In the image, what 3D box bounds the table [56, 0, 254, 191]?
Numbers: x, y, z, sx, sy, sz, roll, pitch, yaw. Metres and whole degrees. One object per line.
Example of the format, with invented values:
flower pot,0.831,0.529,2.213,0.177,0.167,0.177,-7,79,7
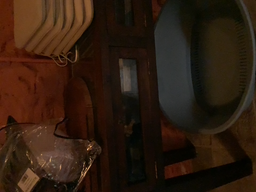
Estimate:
table,0.110,-0.190,1.140,0.590,0.810,1.320,-4,89,60
